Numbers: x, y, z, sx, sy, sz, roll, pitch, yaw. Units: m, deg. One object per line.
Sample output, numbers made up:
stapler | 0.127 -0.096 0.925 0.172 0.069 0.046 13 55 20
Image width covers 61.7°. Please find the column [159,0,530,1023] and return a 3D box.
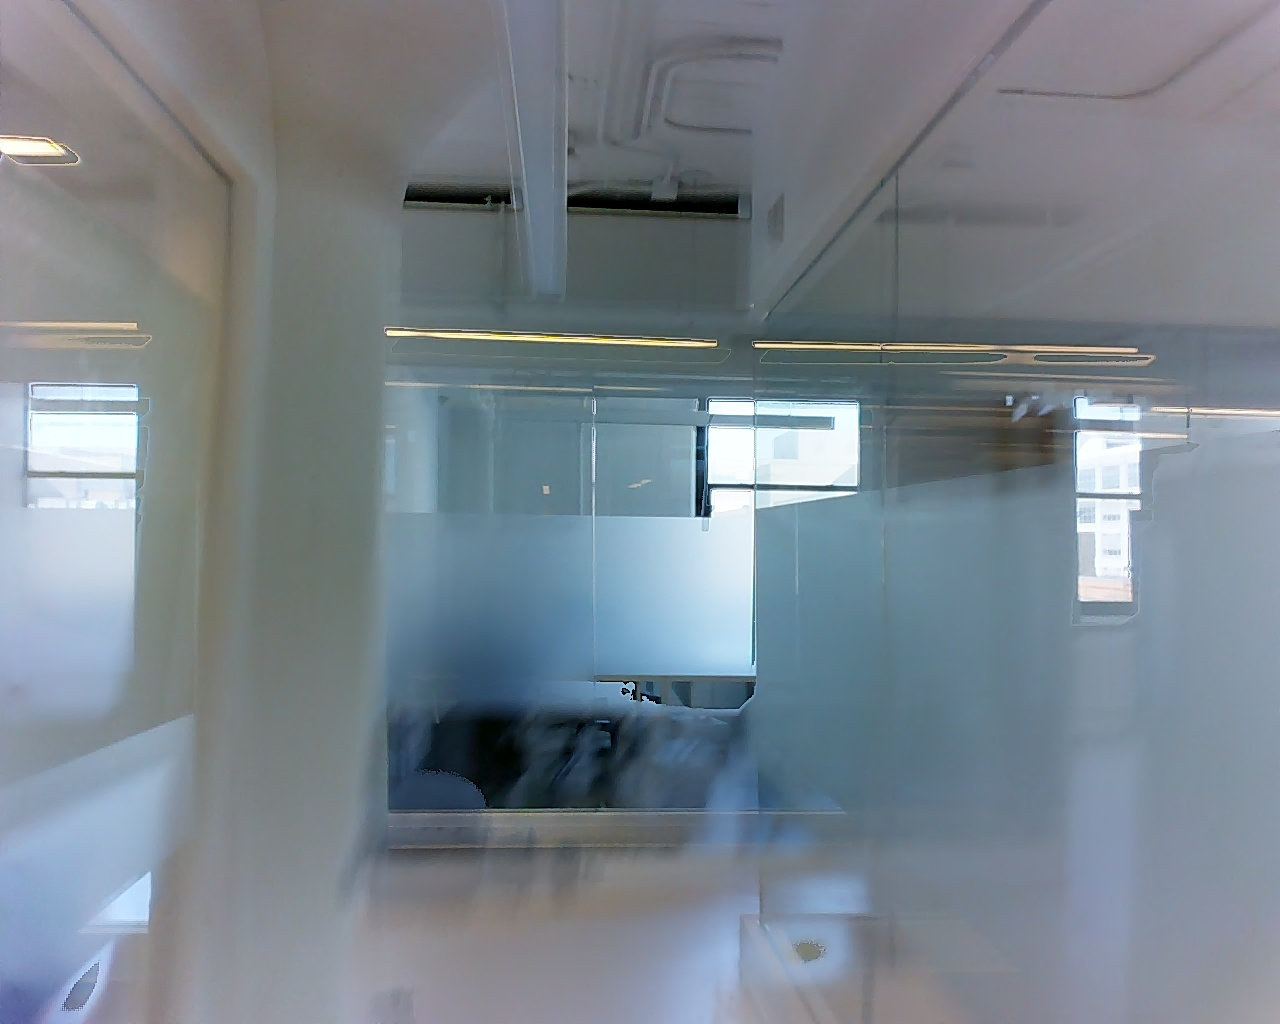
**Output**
column | -0.680 0.090 2.940 0.680 2.861 1.440 1 -2 -5

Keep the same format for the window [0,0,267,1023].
window | -0.940 0.340 1.910 0.160 2.281 1.250 1 -2 -5
